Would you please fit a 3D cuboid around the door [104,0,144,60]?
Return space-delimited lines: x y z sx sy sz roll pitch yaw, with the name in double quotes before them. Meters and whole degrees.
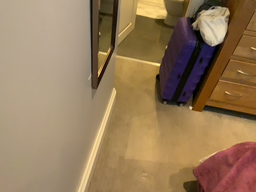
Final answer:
"door" 0.050 -1.420 2.100 0.130 2.050 0.800 21 45 13
